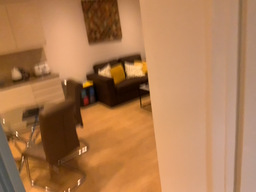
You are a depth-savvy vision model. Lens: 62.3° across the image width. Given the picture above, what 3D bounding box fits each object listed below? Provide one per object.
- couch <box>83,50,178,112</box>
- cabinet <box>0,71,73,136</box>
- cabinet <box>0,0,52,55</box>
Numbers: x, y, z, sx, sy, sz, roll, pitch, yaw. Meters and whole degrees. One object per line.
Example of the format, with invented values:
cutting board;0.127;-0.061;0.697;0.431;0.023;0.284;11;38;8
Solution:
couch;0.110;-0.460;5.030;1.920;0.850;1.000;-20;23;-29
cabinet;-1.760;0.090;4.030;1.120;0.810;0.590;-20;23;-30
cabinet;-1.980;-1.200;3.730;0.990;0.780;0.310;-20;23;-30
